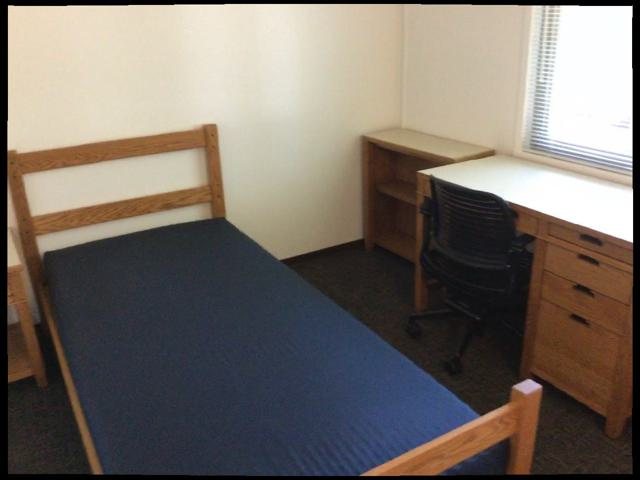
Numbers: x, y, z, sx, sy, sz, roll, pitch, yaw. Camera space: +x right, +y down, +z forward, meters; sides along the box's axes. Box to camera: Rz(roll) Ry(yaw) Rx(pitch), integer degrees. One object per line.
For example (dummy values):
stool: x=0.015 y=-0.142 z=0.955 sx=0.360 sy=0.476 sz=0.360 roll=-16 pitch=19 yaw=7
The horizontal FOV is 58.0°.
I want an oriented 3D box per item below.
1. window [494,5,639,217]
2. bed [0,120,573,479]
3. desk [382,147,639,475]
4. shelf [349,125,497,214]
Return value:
window: x=1.387 y=-0.511 z=2.330 sx=0.230 sy=0.811 sz=1.500 roll=-14 pitch=26 yaw=-28
bed: x=-0.459 y=0.281 z=2.080 sx=1.119 sy=0.962 sz=2.169 roll=-14 pitch=26 yaw=-28
desk: x=0.988 y=0.150 z=2.560 sx=0.719 sy=0.781 sz=1.390 roll=-14 pitch=26 yaw=-28
shelf: x=0.549 y=-0.431 z=3.290 sx=0.370 sy=0.280 sz=0.830 roll=-14 pitch=26 yaw=-28
